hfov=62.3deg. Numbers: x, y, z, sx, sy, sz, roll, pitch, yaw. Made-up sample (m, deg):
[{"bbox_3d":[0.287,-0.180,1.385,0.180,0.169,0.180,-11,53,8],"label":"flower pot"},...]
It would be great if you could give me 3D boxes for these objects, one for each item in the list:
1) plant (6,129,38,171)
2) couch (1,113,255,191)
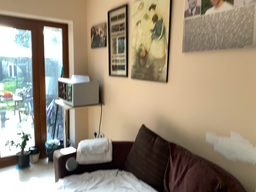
[{"bbox_3d":[-1.500,0.750,3.010,0.370,0.470,0.220,-4,10,-34],"label":"plant"},{"bbox_3d":[-0.080,0.780,1.570,1.250,0.870,1.680,-5,10,-37],"label":"couch"}]
